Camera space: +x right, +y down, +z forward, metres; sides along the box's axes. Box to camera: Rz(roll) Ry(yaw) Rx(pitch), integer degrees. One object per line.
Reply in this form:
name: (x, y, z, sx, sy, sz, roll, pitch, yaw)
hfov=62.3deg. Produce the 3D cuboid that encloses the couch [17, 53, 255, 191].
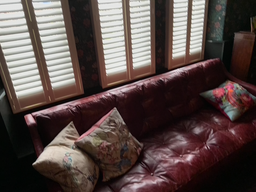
couch: (0.380, 0.330, 1.940, 2.230, 0.880, 0.900, -19, 29, -28)
